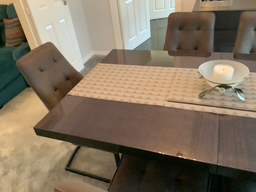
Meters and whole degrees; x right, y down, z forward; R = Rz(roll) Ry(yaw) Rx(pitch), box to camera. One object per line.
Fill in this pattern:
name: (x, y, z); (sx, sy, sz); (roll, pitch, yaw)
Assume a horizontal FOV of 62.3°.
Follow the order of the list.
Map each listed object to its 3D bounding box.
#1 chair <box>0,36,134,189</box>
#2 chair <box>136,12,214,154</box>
chair: (-0.330, 0.120, 1.510); (0.580, 0.950, 0.480); (4, 36, 16)
chair: (0.400, -0.110, 1.730); (0.450, 0.940, 0.600); (6, 37, 18)
